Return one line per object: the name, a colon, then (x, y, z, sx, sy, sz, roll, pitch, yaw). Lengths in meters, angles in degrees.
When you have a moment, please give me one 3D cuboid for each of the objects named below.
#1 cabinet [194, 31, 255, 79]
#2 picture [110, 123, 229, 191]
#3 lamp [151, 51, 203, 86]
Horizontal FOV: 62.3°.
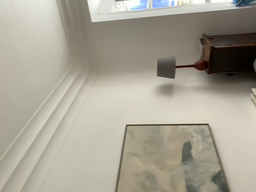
cabinet: (1.400, -0.460, 2.310, 0.410, 1.230, 0.380, -79, -14, -58)
picture: (0.270, 0.500, 1.500, 0.920, 0.740, 0.010, -79, -14, -56)
lamp: (0.520, -0.300, 2.320, 0.250, 0.510, 0.280, -79, -15, -56)
